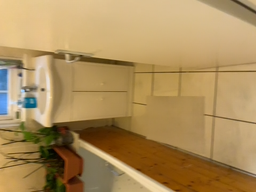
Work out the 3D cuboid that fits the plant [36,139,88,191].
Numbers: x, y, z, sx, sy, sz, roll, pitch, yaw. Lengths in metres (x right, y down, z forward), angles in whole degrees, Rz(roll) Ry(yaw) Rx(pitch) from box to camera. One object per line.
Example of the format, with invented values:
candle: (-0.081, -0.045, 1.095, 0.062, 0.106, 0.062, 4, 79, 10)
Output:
plant: (-0.590, 0.740, 1.830, 0.510, 0.250, 0.590, 9, 97, 52)
